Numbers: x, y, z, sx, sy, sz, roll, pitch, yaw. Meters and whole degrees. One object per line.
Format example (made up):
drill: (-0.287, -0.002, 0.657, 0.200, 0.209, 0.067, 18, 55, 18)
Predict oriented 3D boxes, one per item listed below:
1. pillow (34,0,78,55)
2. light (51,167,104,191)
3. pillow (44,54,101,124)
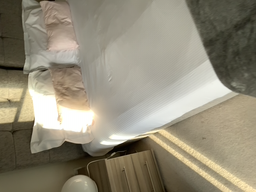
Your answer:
pillow: (-0.610, -0.650, 1.840, 0.150, 0.260, 0.530, -32, 49, 43)
light: (-0.350, 0.670, 1.470, 0.270, 0.240, 0.250, -31, 67, 43)
pillow: (-0.440, -0.060, 1.650, 0.130, 0.290, 0.520, -41, 61, 39)
